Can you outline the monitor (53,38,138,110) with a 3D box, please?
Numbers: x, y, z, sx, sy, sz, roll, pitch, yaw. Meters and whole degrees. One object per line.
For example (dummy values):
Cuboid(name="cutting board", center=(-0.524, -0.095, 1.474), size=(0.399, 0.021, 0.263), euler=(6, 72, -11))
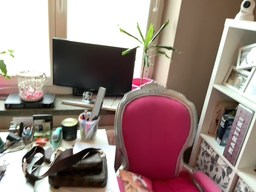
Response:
Cuboid(name="monitor", center=(-0.220, -0.140, 1.400), size=(0.540, 0.420, 0.030), euler=(7, 23, 6))
